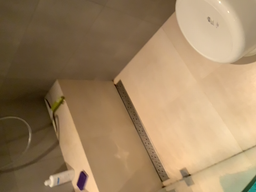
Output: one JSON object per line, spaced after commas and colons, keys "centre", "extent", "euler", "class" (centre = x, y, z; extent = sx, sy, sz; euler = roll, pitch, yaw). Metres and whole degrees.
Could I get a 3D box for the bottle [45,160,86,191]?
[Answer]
{"centre": [-0.370, 0.470, 1.260], "extent": [0.090, 0.190, 0.110], "euler": [-38, 67, 37], "class": "bottle"}
